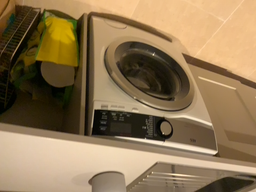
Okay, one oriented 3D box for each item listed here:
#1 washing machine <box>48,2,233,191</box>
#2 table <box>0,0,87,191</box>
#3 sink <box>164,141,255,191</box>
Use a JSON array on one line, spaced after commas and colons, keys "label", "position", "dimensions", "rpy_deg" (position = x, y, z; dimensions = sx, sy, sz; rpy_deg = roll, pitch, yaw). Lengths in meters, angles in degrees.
[{"label": "washing machine", "position": [-0.030, 0.070, 1.290], "dimensions": [0.640, 0.890, 0.670], "rpy_deg": [14, 134, -25]}, {"label": "table", "position": [-0.590, -0.050, 1.050], "dimensions": [0.590, 0.890, 0.590], "rpy_deg": [14, 134, -25]}, {"label": "sink", "position": [0.560, 0.520, 1.370], "dimensions": [0.400, 0.180, 0.500], "rpy_deg": [14, 134, -25]}]
